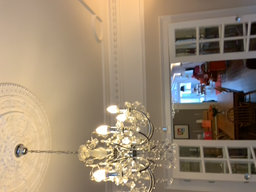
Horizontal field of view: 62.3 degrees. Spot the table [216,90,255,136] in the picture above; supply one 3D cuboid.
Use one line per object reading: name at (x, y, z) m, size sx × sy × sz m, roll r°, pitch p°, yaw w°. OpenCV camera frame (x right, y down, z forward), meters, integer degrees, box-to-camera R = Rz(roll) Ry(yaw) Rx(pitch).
table at (2.660, 0.370, 5.080) m, size 1.340 × 0.780 × 0.960 m, roll 5°, pitch -97°, yaw -77°
